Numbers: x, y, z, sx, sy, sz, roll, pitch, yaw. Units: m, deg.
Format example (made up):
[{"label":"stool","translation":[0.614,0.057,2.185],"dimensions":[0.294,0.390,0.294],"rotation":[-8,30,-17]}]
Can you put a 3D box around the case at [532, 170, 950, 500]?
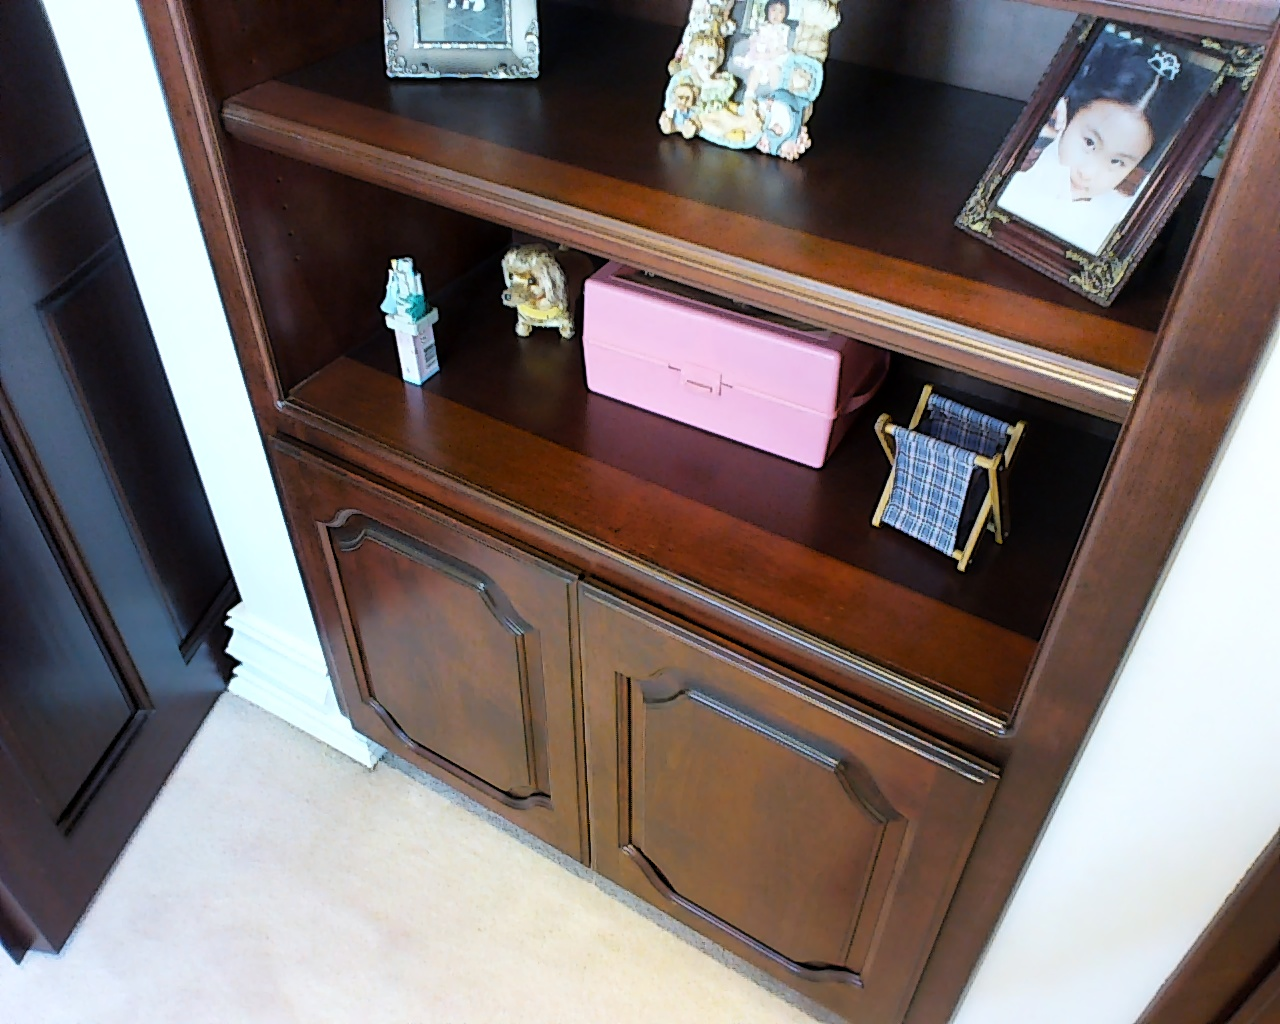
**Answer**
[{"label":"case","translation":[0.110,-0.220,1.240],"dimensions":[0.400,0.190,0.230],"rotation":[23,46,23]}]
